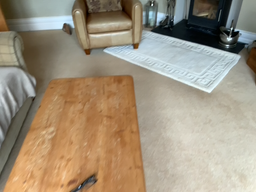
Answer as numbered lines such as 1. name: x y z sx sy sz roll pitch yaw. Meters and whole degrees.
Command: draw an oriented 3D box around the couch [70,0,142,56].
1. couch: -0.320 -1.200 2.970 0.810 0.790 1.050 -7 39 -7
